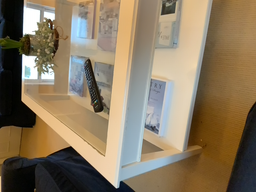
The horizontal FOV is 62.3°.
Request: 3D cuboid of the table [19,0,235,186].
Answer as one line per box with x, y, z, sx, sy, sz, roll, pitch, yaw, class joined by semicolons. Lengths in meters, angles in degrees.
-0.180;-0.260;1.180;1.230;0.480;0.810;18;106;48;table
